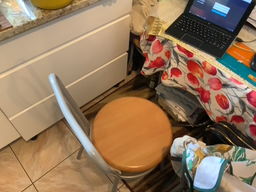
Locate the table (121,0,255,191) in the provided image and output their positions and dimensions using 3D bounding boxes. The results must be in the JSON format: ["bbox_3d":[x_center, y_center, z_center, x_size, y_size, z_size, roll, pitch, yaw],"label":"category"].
[{"bbox_3d":[0.570,0.000,1.220,0.590,0.740,1.130,-35,64,-26],"label":"table"}]
